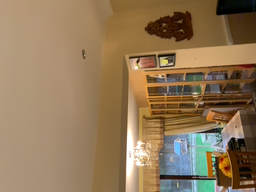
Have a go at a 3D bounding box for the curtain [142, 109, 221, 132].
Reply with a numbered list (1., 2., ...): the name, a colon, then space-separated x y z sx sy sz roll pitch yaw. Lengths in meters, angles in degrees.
1. curtain: 1.200 0.580 4.950 0.230 1.710 0.440 67 -158 -64

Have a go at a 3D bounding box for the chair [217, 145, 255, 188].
1. chair: 1.670 0.870 2.570 0.530 0.950 0.460 67 -158 -64

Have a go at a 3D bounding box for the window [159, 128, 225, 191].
1. window: 1.360 1.680 4.600 0.100 1.270 1.960 68 -159 -64
